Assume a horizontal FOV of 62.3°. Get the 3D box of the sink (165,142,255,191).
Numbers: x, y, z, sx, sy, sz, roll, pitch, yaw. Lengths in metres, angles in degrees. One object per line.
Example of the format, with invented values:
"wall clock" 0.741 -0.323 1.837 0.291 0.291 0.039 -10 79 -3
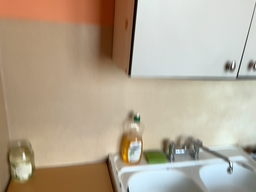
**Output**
"sink" 0.510 0.480 1.060 0.420 0.200 0.550 -1 20 -17
